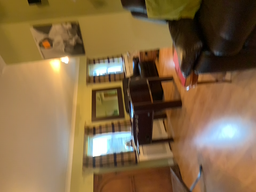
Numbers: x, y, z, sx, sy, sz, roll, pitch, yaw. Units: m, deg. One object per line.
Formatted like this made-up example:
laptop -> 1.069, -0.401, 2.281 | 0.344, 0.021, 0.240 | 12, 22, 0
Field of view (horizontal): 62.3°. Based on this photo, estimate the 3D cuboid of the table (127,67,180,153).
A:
table -> 0.470, 0.370, 4.600 | 1.710, 0.830, 0.920 | 87, 176, -49
